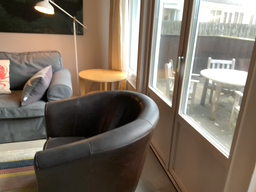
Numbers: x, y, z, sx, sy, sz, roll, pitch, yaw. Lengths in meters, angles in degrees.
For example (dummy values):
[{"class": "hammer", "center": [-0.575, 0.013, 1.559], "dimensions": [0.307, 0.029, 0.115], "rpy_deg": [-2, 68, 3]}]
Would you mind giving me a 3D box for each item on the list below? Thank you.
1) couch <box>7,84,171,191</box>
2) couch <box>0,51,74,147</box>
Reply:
[{"class": "couch", "center": [-0.260, 0.390, 1.490], "dimensions": [0.770, 0.720, 0.780], "rpy_deg": [-3, 21, -14]}, {"class": "couch", "center": [-1.550, -0.030, 2.320], "dimensions": [1.800, 0.790, 0.970], "rpy_deg": [-3, 20, -14]}]
